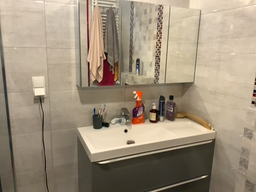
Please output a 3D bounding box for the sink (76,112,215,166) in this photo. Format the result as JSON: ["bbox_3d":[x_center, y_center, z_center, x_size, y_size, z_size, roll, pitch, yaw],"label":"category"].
[{"bbox_3d":[0.140,0.290,1.670,0.990,0.100,0.460,-4,14,-26],"label":"sink"}]
